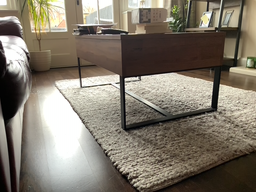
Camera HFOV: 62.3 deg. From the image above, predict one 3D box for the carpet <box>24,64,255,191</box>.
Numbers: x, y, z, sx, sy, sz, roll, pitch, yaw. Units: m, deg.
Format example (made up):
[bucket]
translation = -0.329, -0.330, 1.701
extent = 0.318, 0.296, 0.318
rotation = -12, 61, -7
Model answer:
[carpet]
translation = 0.000, -0.050, 1.780
extent = 1.560, 0.050, 2.310
rotation = -9, 18, -23
